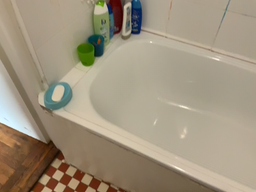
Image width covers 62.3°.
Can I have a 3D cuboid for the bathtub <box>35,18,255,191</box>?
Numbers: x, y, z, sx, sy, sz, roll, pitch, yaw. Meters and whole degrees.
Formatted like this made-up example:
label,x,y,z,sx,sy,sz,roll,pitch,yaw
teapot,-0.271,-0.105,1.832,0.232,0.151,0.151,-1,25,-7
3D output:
label,x,y,z,sx,sy,sz,roll,pitch,yaw
bathtub,0.470,0.230,1.030,1.530,0.530,0.700,22,53,15
